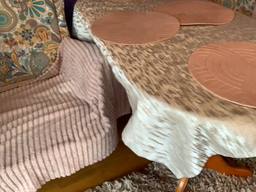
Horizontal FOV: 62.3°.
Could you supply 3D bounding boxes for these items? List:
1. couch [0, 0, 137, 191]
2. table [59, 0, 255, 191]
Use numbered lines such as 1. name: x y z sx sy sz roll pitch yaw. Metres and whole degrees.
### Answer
1. couch: -0.530 -0.110 0.990 0.780 1.020 0.950 -18 42 -19
2. table: 0.190 -0.100 1.210 0.730 0.710 1.430 -18 42 -19
